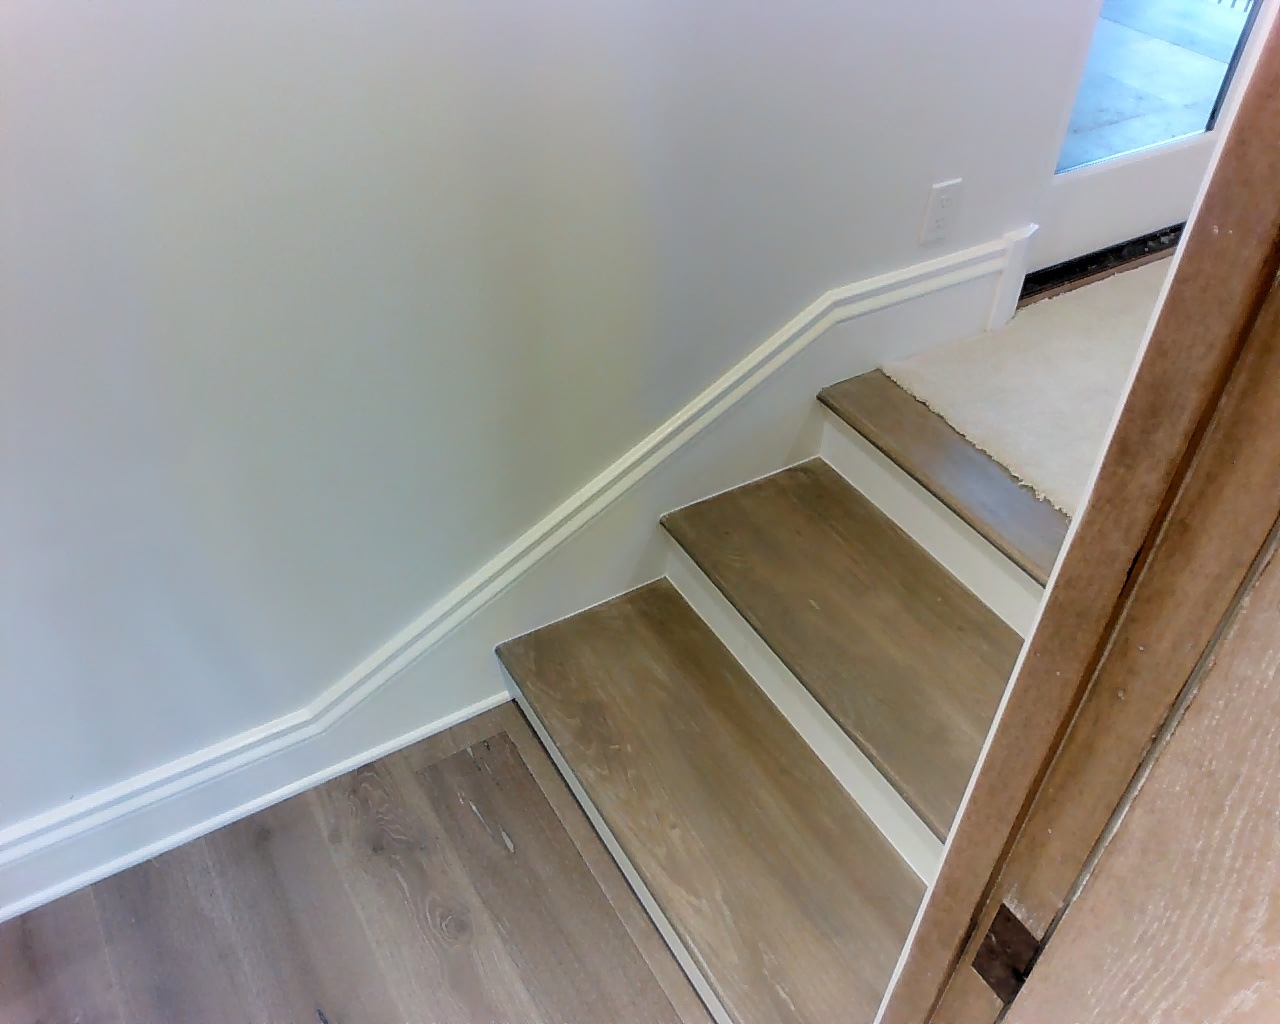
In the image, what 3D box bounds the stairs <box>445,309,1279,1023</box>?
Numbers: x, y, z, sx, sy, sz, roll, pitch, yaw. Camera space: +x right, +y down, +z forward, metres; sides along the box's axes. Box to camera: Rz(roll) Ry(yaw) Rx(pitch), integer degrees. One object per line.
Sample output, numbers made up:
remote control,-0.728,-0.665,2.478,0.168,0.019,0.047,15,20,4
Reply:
stairs,0.410,0.320,1.830,1.060,0.620,1.120,-20,47,-23
